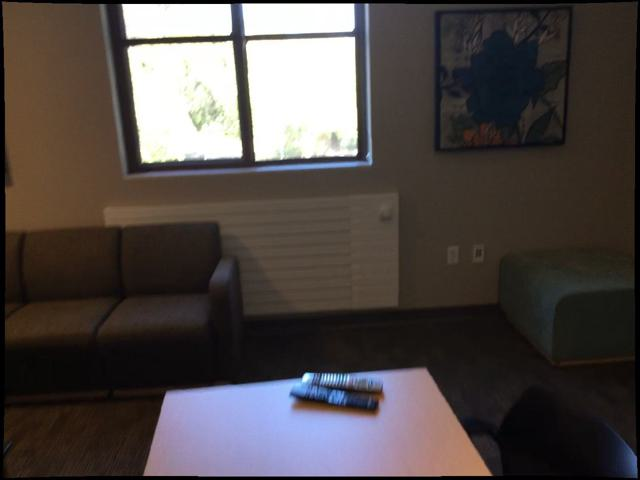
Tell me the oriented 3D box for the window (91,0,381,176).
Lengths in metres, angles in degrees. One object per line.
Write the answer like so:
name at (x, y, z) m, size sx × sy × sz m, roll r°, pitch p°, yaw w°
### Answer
window at (-0.440, -1.081, 3.340) m, size 1.528 × 1.291 × 0.390 m, roll -4°, pitch 17°, yaw -6°

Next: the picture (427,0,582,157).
picture at (1.039, -0.931, 3.320) m, size 0.799 × 0.851 × 0.170 m, roll -4°, pitch 17°, yaw -6°
